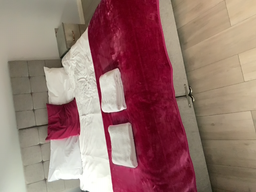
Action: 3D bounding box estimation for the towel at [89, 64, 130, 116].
[{"bbox_3d":[-0.180,-0.030,1.840,0.500,0.090,0.380,-13,85,58],"label":"towel"}]

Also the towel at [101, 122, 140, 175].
[{"bbox_3d":[-0.080,0.420,1.760,0.410,0.070,0.380,-16,82,58],"label":"towel"}]
